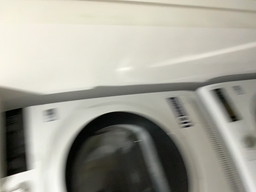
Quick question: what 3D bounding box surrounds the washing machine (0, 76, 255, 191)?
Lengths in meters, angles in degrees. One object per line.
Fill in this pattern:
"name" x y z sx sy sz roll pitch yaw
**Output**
"washing machine" -0.070 0.420 1.010 0.820 0.830 0.640 124 135 -58
